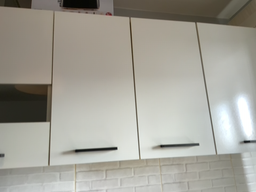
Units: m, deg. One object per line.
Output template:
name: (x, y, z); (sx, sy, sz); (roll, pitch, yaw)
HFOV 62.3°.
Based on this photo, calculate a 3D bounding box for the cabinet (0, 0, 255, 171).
cabinet: (-0.190, -0.030, 0.890); (1.770, 0.600, 0.300); (0, -16, -13)
